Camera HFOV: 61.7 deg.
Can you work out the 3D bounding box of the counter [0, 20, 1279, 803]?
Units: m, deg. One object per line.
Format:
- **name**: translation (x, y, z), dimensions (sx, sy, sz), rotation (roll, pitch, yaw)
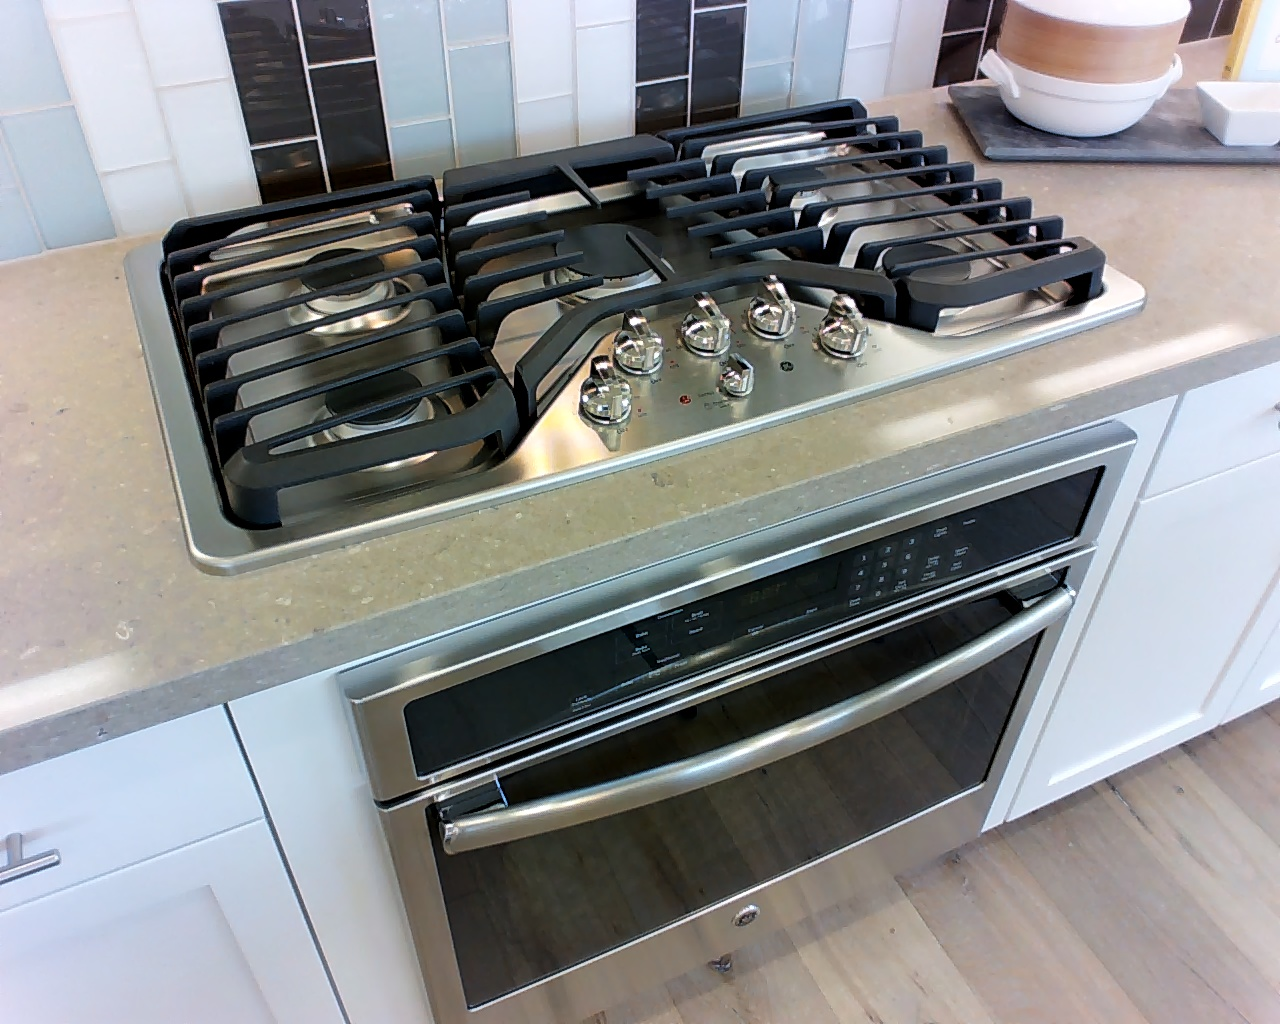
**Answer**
- **counter**: translation (0.030, -0.210, 1.080), dimensions (2.650, 0.050, 0.660), rotation (-17, 43, -19)
